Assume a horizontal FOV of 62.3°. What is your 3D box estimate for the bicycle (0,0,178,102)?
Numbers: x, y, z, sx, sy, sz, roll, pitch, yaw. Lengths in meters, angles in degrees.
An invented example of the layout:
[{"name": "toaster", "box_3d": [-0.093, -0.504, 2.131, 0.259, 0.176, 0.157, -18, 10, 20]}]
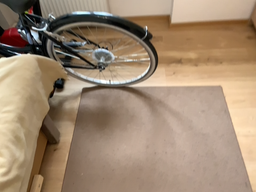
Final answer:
[{"name": "bicycle", "box_3d": [-0.530, -0.290, 1.190, 1.490, 0.720, 0.270, -1, 53, 3]}]
